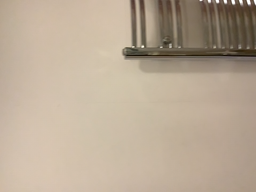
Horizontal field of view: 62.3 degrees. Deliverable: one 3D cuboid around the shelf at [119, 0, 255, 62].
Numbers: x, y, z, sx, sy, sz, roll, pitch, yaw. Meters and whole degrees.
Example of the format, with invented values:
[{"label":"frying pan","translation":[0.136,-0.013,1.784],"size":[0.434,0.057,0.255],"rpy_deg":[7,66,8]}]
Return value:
[{"label":"shelf","translation":[0.410,-0.350,0.890],"size":[0.050,0.890,0.420],"rpy_deg":[119,150,-74]}]
